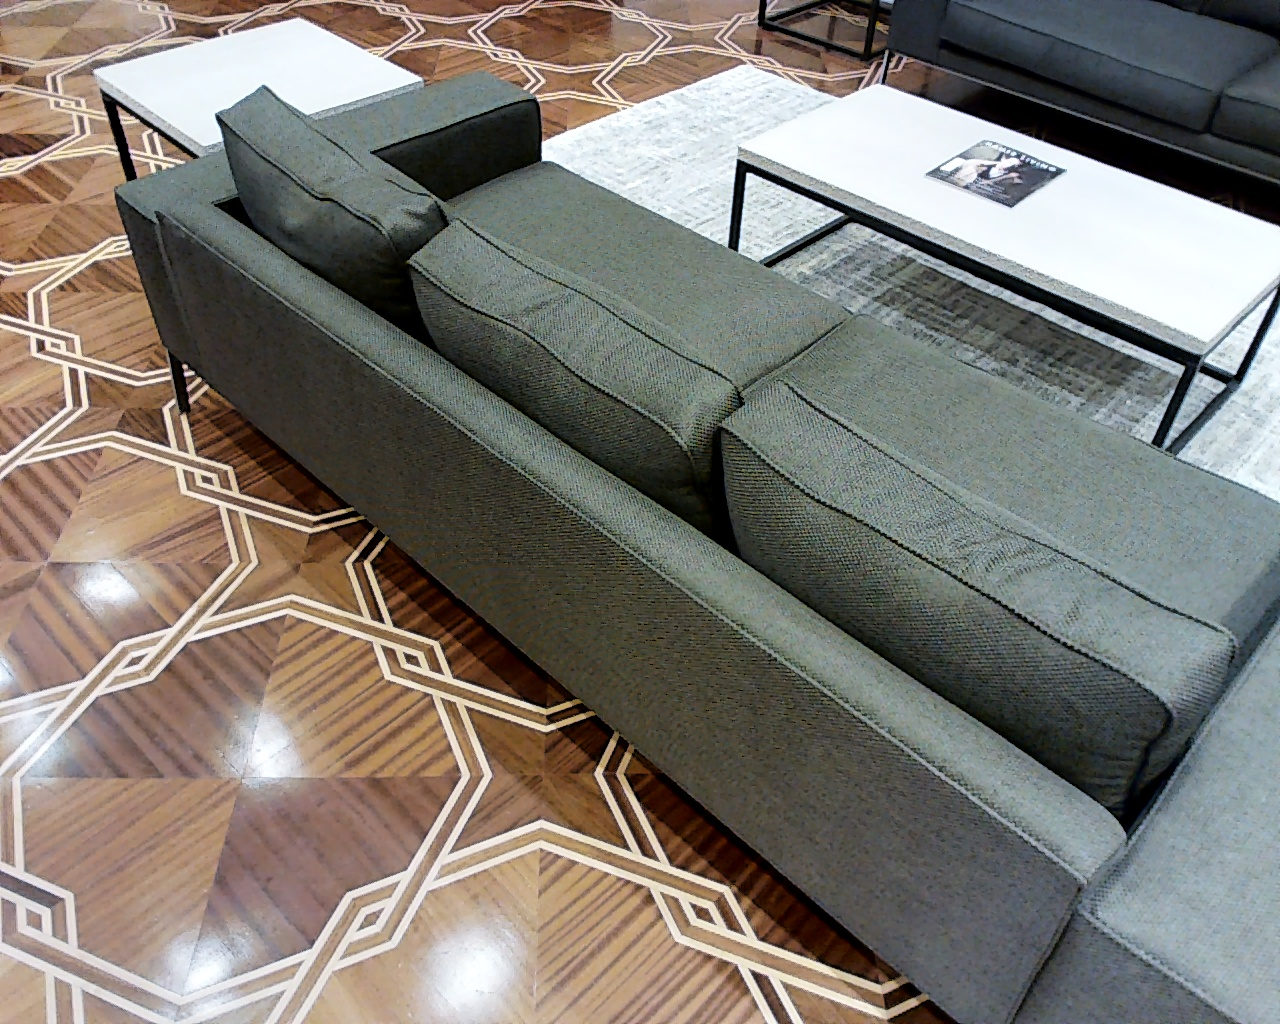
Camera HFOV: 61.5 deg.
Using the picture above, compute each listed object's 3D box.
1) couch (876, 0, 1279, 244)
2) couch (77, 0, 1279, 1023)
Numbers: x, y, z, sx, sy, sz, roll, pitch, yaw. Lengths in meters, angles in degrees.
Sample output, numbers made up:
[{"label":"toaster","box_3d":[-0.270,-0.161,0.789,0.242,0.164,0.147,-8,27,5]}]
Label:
[{"label":"couch","box_3d":[2.270,-1.580,3.710,2.590,0.790,1.100,35,51,30]},{"label":"couch","box_3d":[0.130,-0.200,2.090,2.500,0.850,1.070,34,51,30]}]
